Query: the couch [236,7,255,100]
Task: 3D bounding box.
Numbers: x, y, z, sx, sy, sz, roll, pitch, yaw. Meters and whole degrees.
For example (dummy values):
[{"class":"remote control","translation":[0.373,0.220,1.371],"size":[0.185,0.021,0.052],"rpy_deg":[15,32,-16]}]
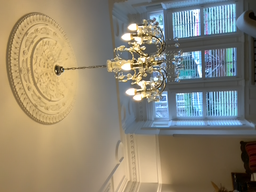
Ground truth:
[{"class":"couch","translation":[2.500,-0.770,3.870],"size":[0.740,0.770,1.550],"rpy_deg":[-32,-62,-74]}]
